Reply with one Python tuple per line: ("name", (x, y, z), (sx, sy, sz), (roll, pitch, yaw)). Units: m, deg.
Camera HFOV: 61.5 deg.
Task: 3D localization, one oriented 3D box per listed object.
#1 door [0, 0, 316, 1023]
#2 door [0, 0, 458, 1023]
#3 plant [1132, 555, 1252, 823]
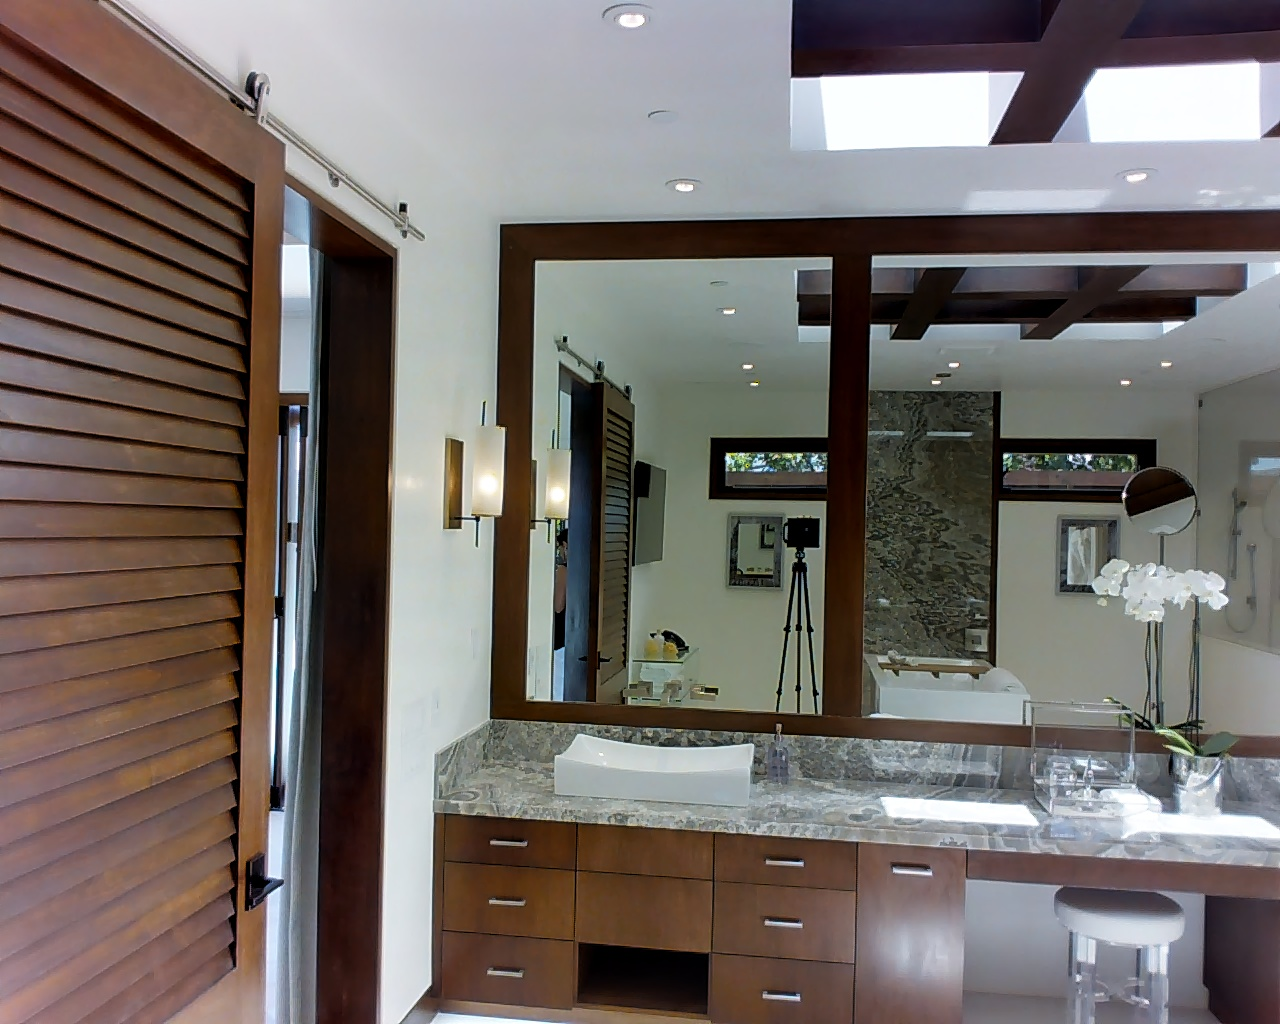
("door", (-0.850, 0.410, 1.730), (0.070, 2.290, 1.210), (1, 0, 9))
("door", (-0.890, 0.340, 2.210), (0.300, 2.640, 2.230), (1, 0, 8))
("plant", (1.860, 0.570, 3.620), (0.330, 0.830, 0.300), (1, 0, 30))
